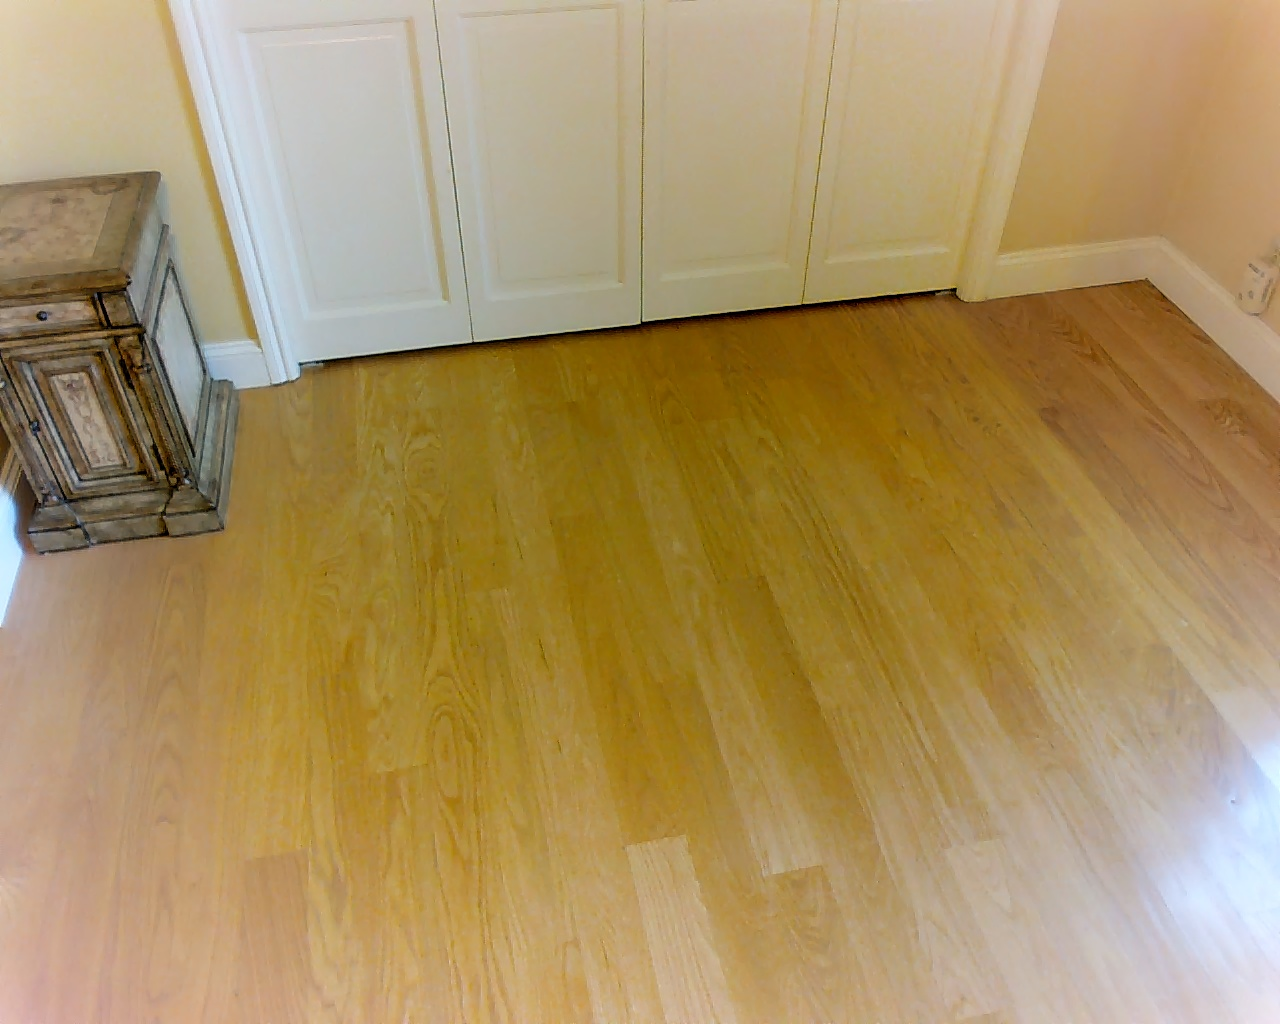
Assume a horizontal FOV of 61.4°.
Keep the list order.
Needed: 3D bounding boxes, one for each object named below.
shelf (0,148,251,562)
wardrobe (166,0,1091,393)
[{"bbox_3d":[-1.160,-0.340,2.310,0.450,0.640,0.540,-8,43,-9],"label":"shelf"},{"bbox_3d":[0.050,-1.250,2.220,2.010,2.090,0.110,-8,43,-9],"label":"wardrobe"}]
